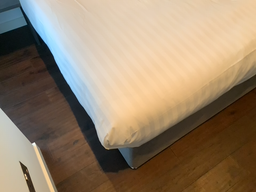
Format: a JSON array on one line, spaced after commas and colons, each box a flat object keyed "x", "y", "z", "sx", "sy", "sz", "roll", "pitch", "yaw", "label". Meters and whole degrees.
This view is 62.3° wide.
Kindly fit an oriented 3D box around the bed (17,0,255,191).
[{"x": 0.070, "y": -0.630, "z": 1.740, "sx": 1.460, "sy": 0.730, "sz": 2.050, "roll": -27, "pitch": 58, "yaw": -18, "label": "bed"}]

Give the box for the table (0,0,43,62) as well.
[{"x": -1.160, "y": -0.730, "z": 1.890, "sx": 0.460, "sy": 0.620, "sz": 0.440, "roll": -27, "pitch": 58, "yaw": -18, "label": "table"}]
